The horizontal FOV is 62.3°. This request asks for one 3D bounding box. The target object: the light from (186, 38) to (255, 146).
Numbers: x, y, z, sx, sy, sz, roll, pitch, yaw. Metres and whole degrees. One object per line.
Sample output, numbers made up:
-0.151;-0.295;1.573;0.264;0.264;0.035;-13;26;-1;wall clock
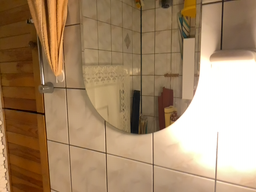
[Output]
0.240;-0.020;0.510;0.150;0.210;0.170;4;-170;28;light
